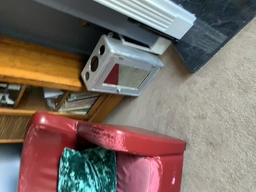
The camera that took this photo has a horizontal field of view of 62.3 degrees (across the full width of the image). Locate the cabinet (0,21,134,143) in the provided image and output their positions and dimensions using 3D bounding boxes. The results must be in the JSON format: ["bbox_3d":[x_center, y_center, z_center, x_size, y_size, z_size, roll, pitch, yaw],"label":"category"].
[{"bbox_3d":[-0.730,-0.010,1.860,0.920,1.180,0.440,-47,51,34],"label":"cabinet"}]

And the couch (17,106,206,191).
[{"bbox_3d":[-0.160,0.550,1.400,0.860,0.810,0.760,12,92,50],"label":"couch"}]
